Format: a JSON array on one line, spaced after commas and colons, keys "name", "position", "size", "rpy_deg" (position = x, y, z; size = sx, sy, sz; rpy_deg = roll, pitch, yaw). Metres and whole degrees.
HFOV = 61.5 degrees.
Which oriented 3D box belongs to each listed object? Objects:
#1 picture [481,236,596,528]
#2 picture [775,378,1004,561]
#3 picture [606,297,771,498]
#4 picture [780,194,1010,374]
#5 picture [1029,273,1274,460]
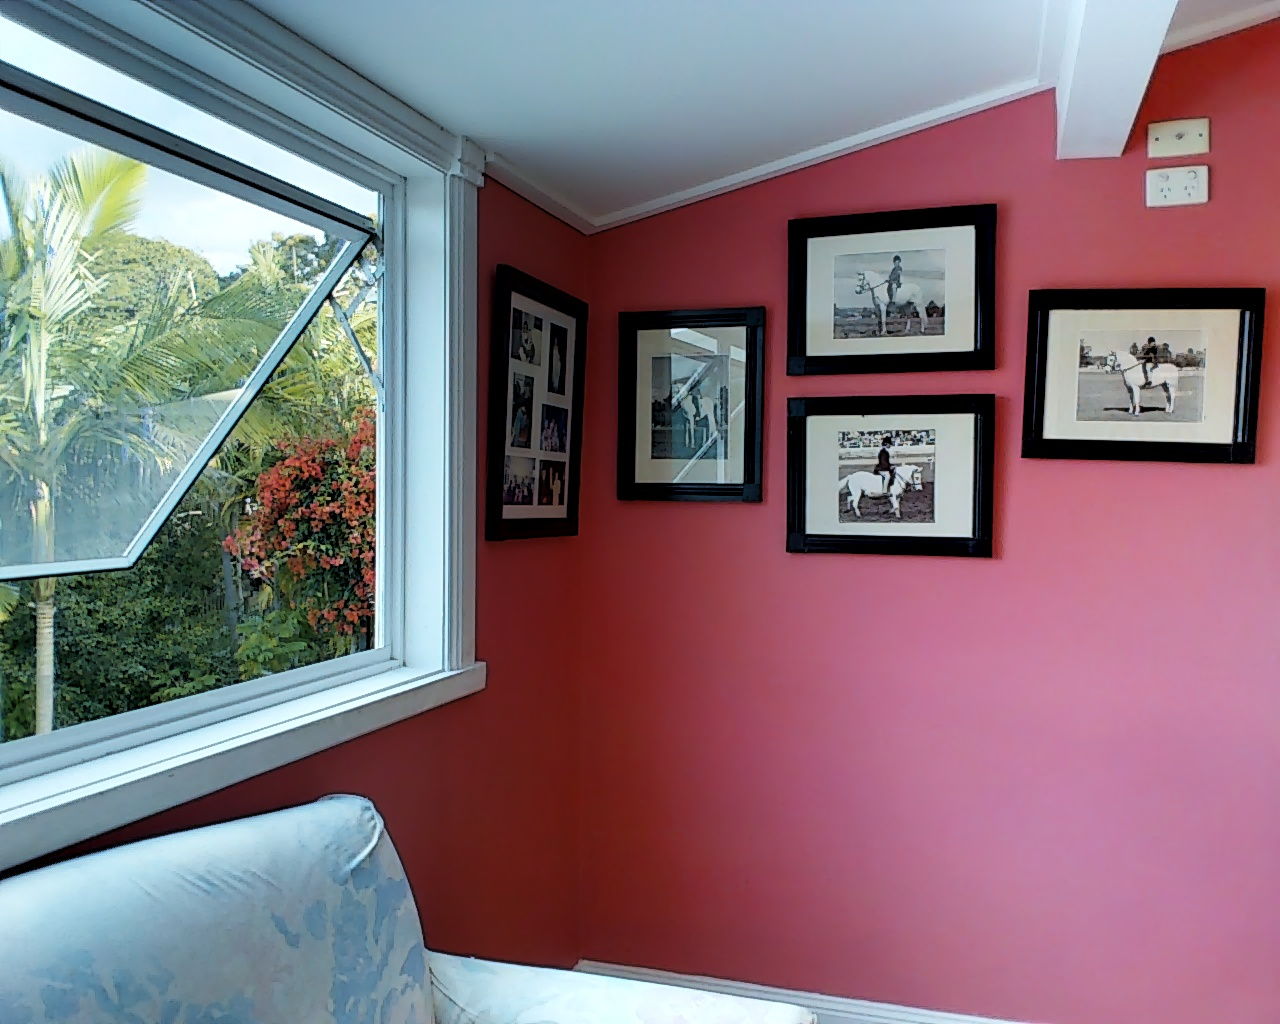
[{"name": "picture", "position": [-0.210, -0.260, 2.340], "size": [0.040, 0.570, 0.480], "rpy_deg": [3, 2, 18]}, {"name": "picture", "position": [0.550, -0.100, 2.400], "size": [0.480, 0.390, 0.040], "rpy_deg": [3, 2, 18]}, {"name": "picture", "position": [0.110, -0.270, 2.540], "size": [0.380, 0.460, 0.030], "rpy_deg": [3, 2, 18]}, {"name": "picture", "position": [0.560, -0.500, 2.390], "size": [0.480, 0.380, 0.030], "rpy_deg": [3, 2, 18]}, {"name": "picture", "position": [1.050, -0.300, 2.230], "size": [0.440, 0.370, 0.040], "rpy_deg": [3, 2, 18]}]
